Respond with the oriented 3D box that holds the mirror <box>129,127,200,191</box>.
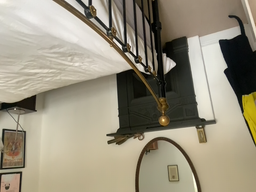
[{"bbox_3d":[0.370,0.910,2.180,0.680,1.090,0.080,-11,162,24],"label":"mirror"}]
